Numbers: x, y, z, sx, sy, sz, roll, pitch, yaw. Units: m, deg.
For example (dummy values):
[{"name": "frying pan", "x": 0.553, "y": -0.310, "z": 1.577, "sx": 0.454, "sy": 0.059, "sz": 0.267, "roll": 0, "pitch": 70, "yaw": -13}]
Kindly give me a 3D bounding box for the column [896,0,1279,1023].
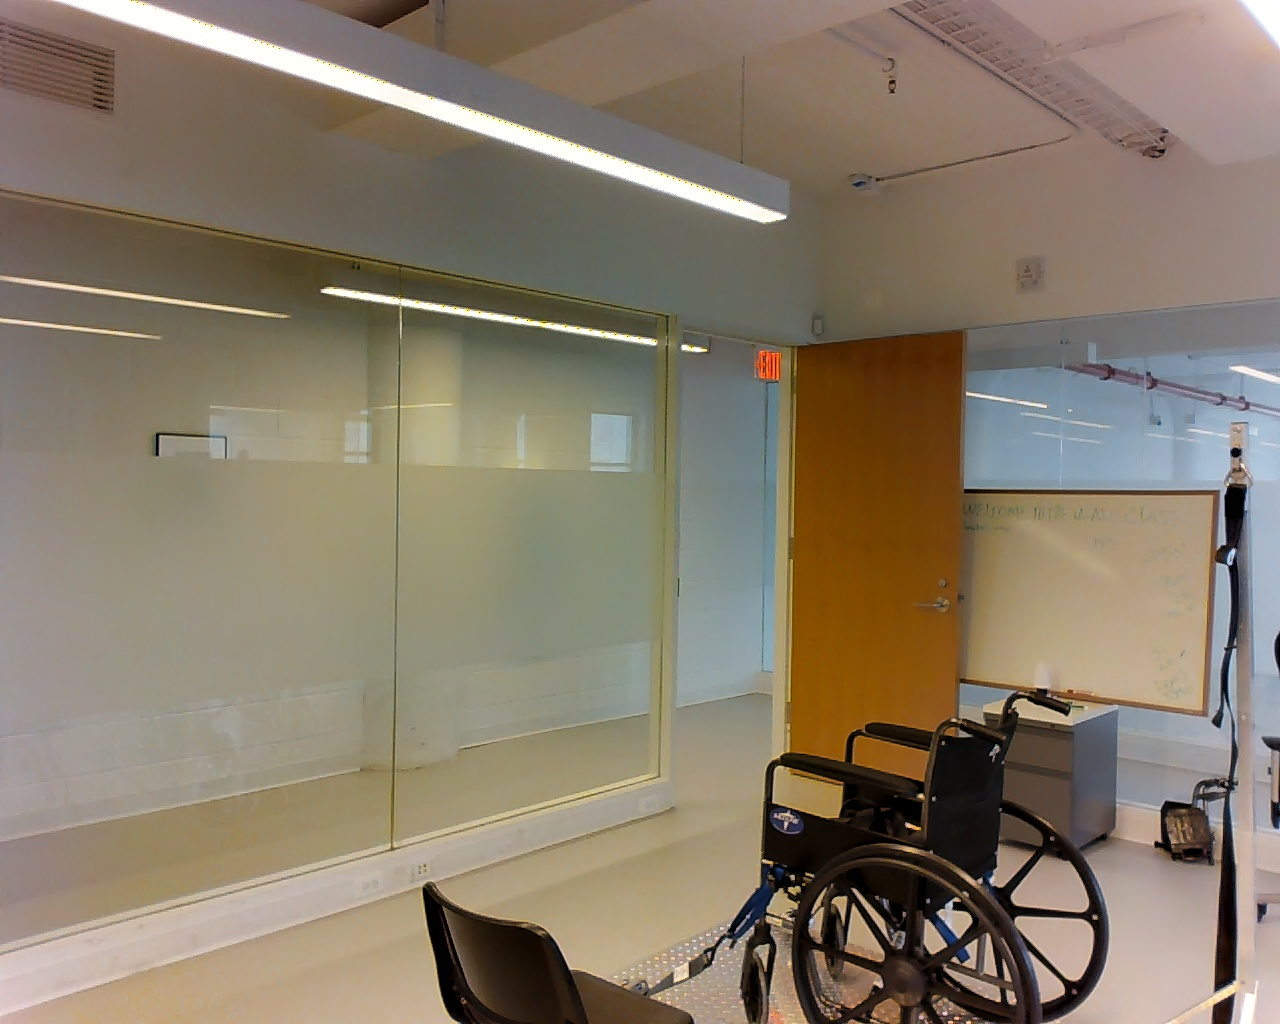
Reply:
[{"name": "column", "x": 1.410, "y": -0.040, "z": 3.140, "sx": 0.590, "sy": 2.871, "sz": 1.450, "roll": 2, "pitch": 1, "yaw": 43}]
